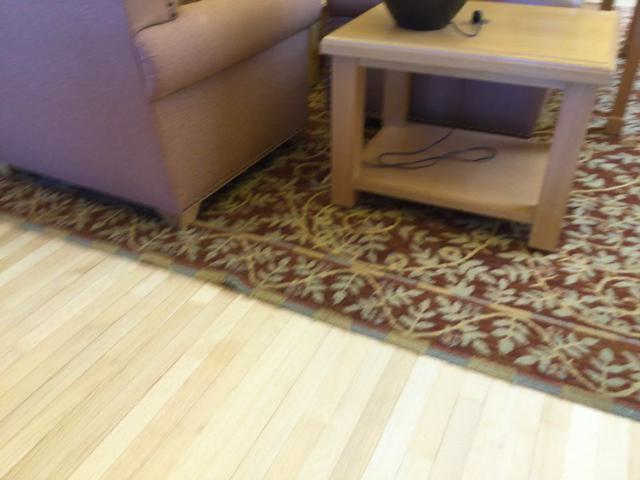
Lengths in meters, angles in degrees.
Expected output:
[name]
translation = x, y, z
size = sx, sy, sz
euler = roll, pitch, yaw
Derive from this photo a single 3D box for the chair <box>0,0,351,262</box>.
[chair]
translation = -0.610, -0.650, 2.020
size = 1.090, 0.720, 1.070
euler = 16, 38, 20
